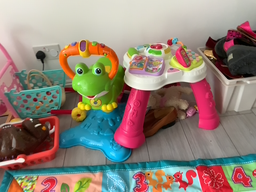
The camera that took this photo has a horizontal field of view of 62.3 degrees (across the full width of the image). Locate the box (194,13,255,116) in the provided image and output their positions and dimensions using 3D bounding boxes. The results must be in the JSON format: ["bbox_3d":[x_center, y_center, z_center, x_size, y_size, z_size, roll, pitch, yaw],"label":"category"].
[{"bbox_3d":[0.600,-0.180,1.120,0.340,0.360,0.400,-6,38,-1],"label":"box"}]
